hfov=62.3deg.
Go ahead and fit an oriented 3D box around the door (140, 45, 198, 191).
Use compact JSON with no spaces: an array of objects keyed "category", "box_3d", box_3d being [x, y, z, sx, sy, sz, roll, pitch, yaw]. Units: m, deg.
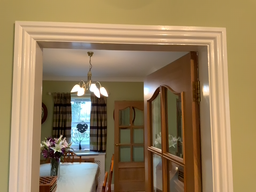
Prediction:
[{"category":"door","box_3d":[0.230,0.750,1.370,0.060,1.980,0.710,1,-5,-15]}]
